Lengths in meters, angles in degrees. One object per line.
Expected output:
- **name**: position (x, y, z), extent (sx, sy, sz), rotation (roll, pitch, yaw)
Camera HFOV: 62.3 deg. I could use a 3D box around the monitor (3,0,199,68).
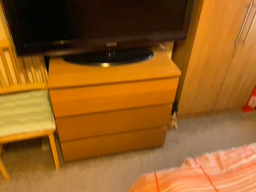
- **monitor**: position (-0.080, -0.590, 1.230), extent (1.150, 0.740, 0.090), rotation (-11, 41, -18)
